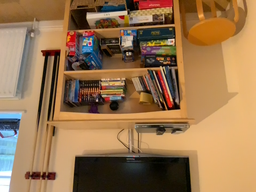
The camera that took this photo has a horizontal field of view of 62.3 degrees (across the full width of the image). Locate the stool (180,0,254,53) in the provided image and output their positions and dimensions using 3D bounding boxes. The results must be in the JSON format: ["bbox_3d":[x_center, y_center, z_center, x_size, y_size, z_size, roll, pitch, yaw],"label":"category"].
[{"bbox_3d":[0.700,-0.680,1.790,0.410,0.450,0.460,-1,163,4],"label":"stool"}]

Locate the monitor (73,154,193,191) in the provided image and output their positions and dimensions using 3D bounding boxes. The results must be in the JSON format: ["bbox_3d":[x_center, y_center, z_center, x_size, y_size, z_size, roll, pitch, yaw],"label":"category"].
[{"bbox_3d":[0.030,0.740,1.600,0.900,0.580,0.040,-1,162,5],"label":"monitor"}]
